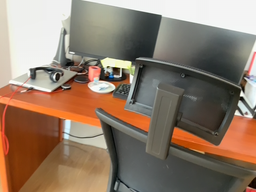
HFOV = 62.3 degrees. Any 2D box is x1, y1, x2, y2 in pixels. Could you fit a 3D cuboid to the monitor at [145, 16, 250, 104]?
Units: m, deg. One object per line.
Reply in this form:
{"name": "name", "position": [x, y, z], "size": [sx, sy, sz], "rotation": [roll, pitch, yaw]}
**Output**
{"name": "monitor", "position": [0.380, -0.220, 1.280], "size": [0.510, 0.410, 0.040], "rotation": [19, 26, 20]}

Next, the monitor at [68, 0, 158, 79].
{"name": "monitor", "position": [-0.110, -0.350, 1.350], "size": [0.520, 0.420, 0.040], "rotation": [8, 25, -4]}

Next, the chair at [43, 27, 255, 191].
{"name": "chair", "position": [0.200, 0.350, 0.960], "size": [0.710, 1.110, 0.800], "rotation": [20, 27, 21]}
